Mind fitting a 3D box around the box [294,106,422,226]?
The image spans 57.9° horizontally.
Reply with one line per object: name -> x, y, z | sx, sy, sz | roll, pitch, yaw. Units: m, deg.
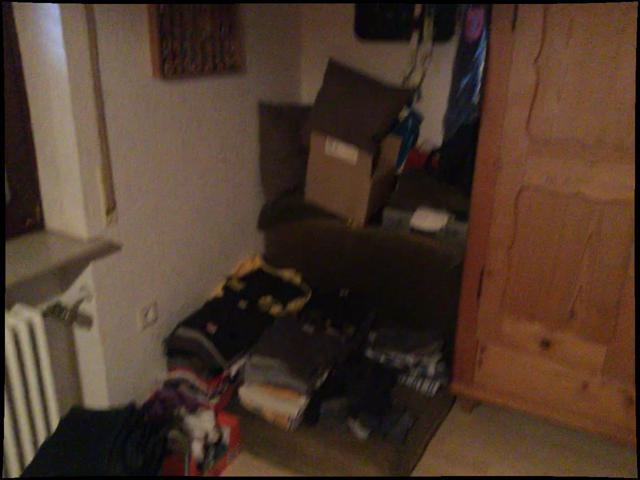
box -> 0.170, -0.350, 2.590 | 0.440, 0.410, 0.370 | 12, 25, 26
